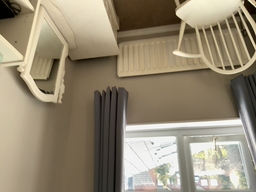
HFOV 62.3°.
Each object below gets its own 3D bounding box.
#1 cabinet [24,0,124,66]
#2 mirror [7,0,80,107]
[{"bbox_3d":[-0.370,-0.700,1.690,0.480,0.420,1.010,-5,157,9],"label":"cabinet"},{"bbox_3d":[-0.540,-0.270,1.500,0.120,0.520,0.560,-6,156,12],"label":"mirror"}]
